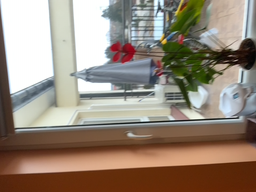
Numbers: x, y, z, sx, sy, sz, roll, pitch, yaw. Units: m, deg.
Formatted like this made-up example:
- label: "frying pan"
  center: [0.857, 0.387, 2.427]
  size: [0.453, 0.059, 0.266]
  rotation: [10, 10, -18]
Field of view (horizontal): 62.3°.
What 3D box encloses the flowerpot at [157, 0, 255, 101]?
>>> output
- label: "flowerpot"
  center: [0.470, -0.220, 1.050]
  size: [0.260, 0.600, 0.430]
  rotation: [-119, 27, -79]
